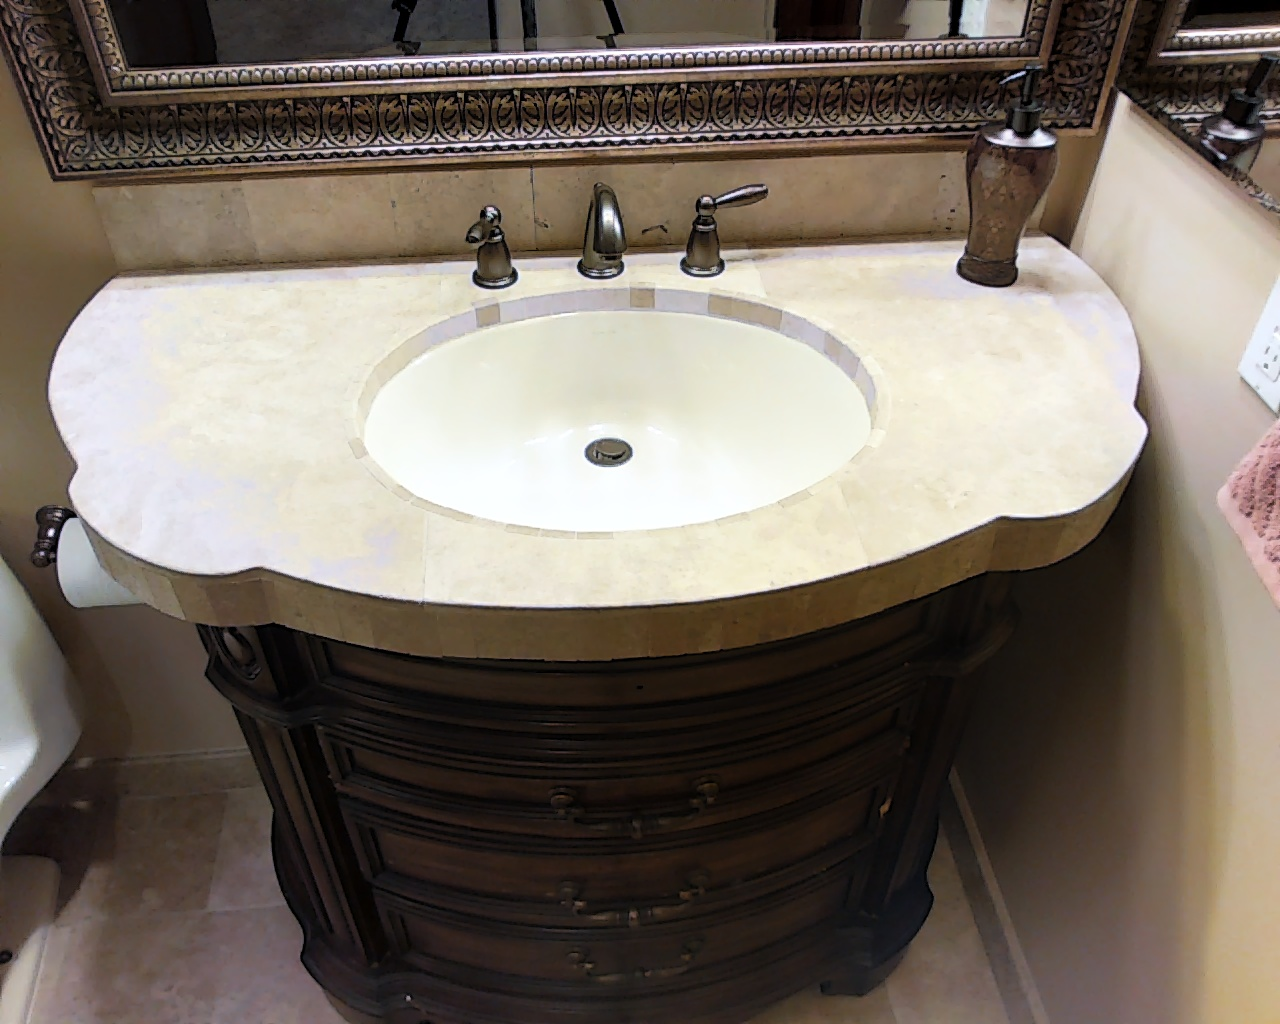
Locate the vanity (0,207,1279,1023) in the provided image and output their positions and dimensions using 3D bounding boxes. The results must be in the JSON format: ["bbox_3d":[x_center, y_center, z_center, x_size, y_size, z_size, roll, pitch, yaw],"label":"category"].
[{"bbox_3d":[-0.030,0.230,1.330,1.120,0.960,0.580,-4,43,-5],"label":"vanity"}]
